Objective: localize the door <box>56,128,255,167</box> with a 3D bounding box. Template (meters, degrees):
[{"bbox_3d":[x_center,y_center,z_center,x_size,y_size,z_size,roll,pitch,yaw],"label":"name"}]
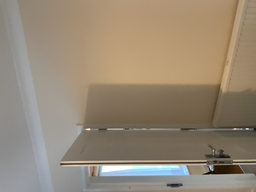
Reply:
[{"bbox_3d":[0.540,0.370,1.690,0.790,1.970,0.030,-113,23,-84],"label":"door"}]

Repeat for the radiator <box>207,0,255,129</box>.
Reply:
[{"bbox_3d":[1.140,-0.500,1.610,0.060,0.760,1.740,-95,5,-65],"label":"radiator"}]
